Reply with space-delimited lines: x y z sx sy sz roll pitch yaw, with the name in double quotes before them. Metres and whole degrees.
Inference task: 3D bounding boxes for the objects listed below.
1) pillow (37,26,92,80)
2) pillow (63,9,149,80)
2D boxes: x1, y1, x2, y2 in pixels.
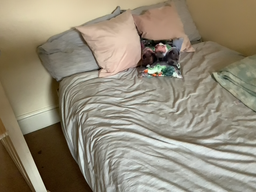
"pillow" -0.420 -0.300 1.400 0.240 0.200 0.330 -18 40 -24
"pillow" -0.160 -0.380 1.460 0.410 0.270 0.440 -18 40 -24
